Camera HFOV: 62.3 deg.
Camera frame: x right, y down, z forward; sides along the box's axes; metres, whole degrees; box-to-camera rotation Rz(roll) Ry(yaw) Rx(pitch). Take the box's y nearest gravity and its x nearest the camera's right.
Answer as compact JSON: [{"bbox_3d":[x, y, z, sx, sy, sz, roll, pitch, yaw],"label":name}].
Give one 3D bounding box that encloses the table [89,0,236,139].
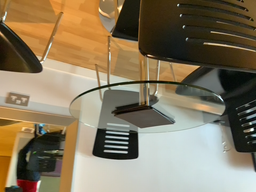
[{"bbox_3d":[0.140,-0.190,1.260,0.550,0.740,0.570,10,156,-21],"label":"table"}]
